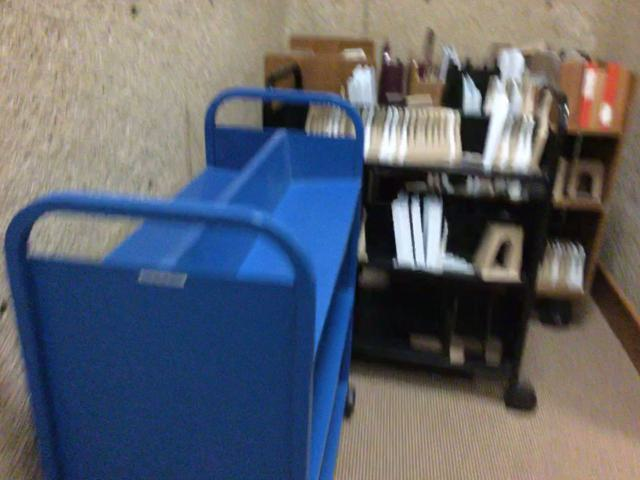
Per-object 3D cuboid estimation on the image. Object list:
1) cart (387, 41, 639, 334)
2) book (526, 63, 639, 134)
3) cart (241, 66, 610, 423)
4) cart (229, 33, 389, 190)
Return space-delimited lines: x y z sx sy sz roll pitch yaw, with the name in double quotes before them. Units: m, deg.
"cart" 0.750 -0.240 2.470 0.870 1.110 0.520 3 24 9
"book" 0.940 -0.510 2.080 0.340 0.230 0.110 3 24 9
"cart" 0.330 -0.030 2.110 1.000 1.080 0.660 3 24 9
"cart" 0.020 -0.640 2.620 0.510 0.470 1.120 3 24 9
